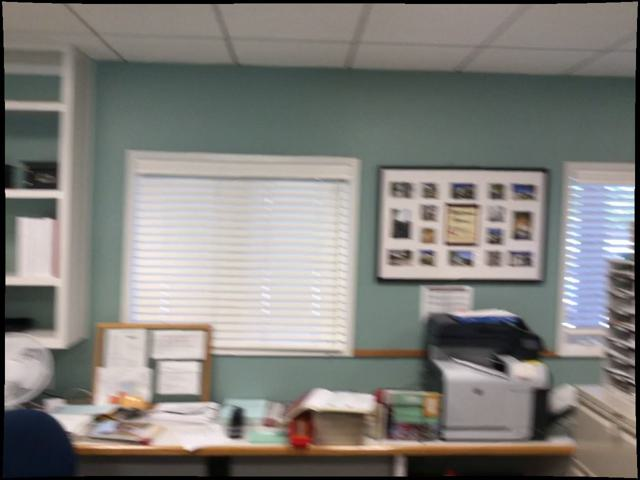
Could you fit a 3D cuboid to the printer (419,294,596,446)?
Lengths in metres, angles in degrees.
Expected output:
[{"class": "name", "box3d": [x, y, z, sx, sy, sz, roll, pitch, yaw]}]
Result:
[{"class": "printer", "box3d": [0.859, 0.591, 2.760, 0.659, 0.591, 0.480, 1, 4, -2]}]

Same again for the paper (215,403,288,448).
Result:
[{"class": "paper", "box3d": [-0.310, 0.861, 2.700, 0.310, 0.080, 0.330, 1, 4, -2]}]
